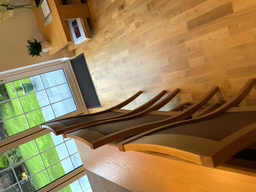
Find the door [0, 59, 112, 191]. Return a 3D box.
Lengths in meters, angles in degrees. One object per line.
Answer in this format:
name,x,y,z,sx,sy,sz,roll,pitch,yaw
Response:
door,-1.380,0.750,2.900,0.110,2.010,2.130,-9,101,54

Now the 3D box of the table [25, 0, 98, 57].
table,-0.900,-1.170,2.570,0.790,0.400,1.170,-7,103,54
